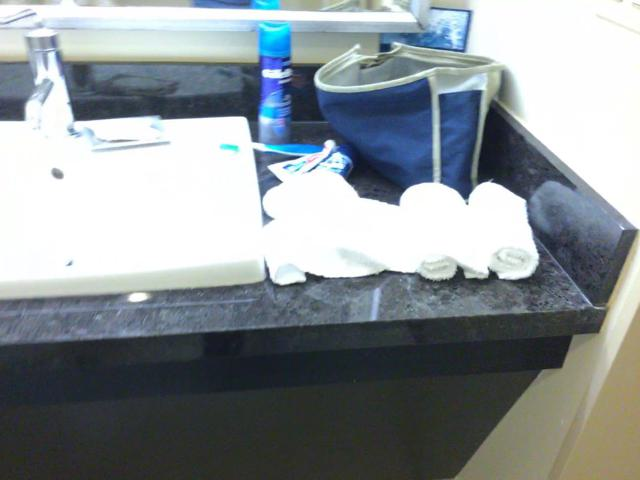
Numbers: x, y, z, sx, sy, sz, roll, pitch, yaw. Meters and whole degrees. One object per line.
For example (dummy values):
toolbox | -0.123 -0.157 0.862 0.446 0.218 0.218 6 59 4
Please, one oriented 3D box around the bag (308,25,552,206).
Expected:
bag | 0.140 -0.200 0.890 0.280 0.180 0.270 -1 34 -8
